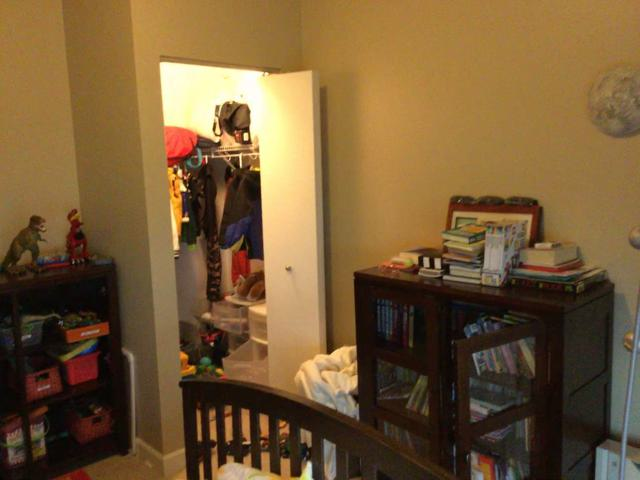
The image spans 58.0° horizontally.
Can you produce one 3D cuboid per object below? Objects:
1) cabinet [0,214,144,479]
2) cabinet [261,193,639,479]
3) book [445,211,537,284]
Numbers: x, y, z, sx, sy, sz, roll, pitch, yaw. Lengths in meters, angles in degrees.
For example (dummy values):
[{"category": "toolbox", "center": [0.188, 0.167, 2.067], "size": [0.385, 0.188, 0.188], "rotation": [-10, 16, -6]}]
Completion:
[{"category": "cabinet", "center": [-1.460, 0.550, 2.750], "size": [0.470, 1.220, 1.000], "rotation": [7, 13, 44]}, {"category": "cabinet", "center": [0.480, 0.520, 2.290], "size": [0.860, 1.310, 1.110], "rotation": [-10, 12, -43]}, {"category": "book", "center": [0.690, 0.020, 2.330], "size": [0.340, 0.230, 0.210], "rotation": [-10, 12, -43]}]
